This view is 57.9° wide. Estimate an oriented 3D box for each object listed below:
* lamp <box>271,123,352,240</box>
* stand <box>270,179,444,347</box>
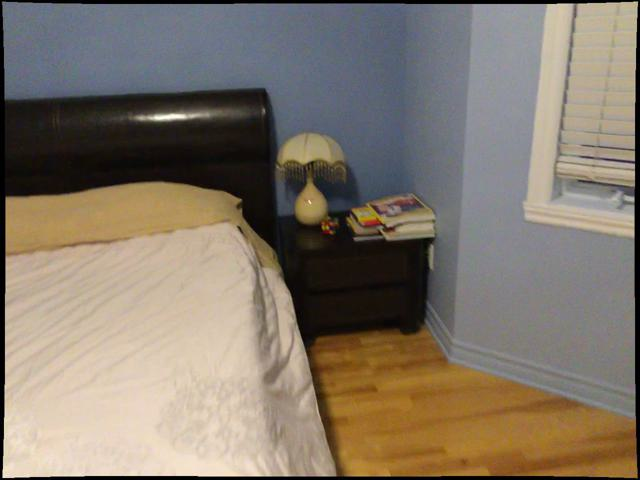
[{"bbox_3d":[-0.040,-0.270,2.600,0.290,0.420,0.300,-8,24,-8],"label":"lamp"},{"bbox_3d":[0.150,0.080,2.630,0.659,0.510,0.510,-8,24,-8],"label":"stand"}]
